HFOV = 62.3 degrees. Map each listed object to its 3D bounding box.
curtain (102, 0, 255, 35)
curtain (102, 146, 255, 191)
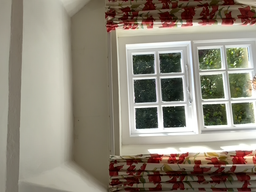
[{"bbox_3d":[0.710,-0.750,1.720,0.300,1.800,0.320,88,180,-77],"label":"curtain"},{"bbox_3d":[0.740,0.550,1.560,0.200,1.830,0.310,87,180,-84],"label":"curtain"}]
